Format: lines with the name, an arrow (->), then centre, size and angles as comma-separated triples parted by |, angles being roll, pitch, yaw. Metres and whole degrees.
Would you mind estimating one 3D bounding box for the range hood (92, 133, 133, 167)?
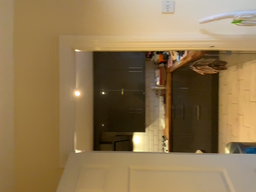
range hood -> -0.290, 1.070, 4.250 | 0.300, 0.790, 0.600 | -28, -62, -87
